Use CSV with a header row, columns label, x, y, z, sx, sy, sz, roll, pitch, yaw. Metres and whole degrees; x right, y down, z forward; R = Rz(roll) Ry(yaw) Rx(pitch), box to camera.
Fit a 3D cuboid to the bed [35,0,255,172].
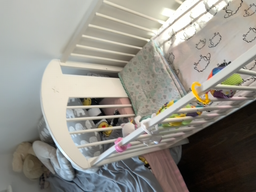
label,x,y,z,sx,sy,sz,roll,pitch,yaw
bed,0.360,-0.280,1.050,1.290,1.090,0.650,-43,60,38
